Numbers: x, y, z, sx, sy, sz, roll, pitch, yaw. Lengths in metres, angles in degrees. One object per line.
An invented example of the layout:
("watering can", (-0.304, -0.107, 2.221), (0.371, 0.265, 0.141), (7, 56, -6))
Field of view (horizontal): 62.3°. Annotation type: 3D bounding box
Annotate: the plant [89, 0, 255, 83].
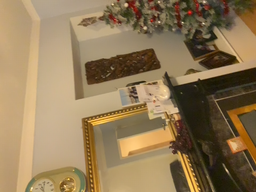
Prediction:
("plant", (0.480, -0.960, 2.390), (0.980, 1.670, 0.860), (79, 177, -54))
